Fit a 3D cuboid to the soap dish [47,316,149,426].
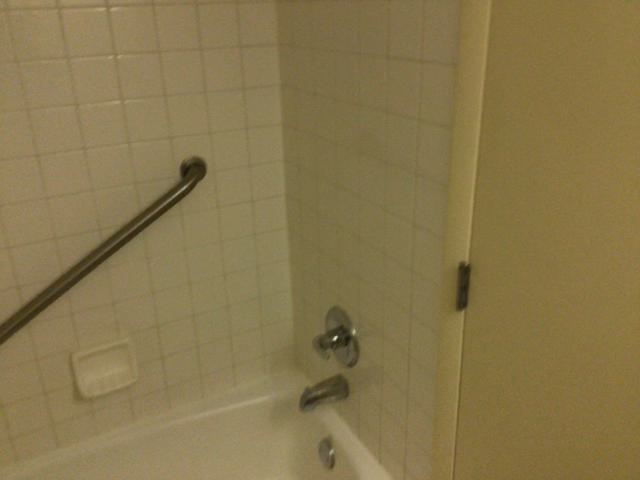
[{"bbox_3d":[-0.610,0.360,1.600,0.220,0.230,0.090,-13,27,-26],"label":"soap dish"}]
